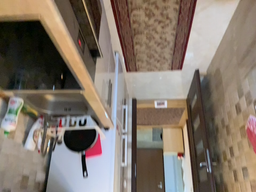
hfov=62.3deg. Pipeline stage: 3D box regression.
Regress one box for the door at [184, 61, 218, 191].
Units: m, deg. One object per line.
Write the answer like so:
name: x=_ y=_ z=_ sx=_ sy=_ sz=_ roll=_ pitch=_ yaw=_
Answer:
door: x=0.890 y=0.700 z=2.630 sx=0.120 sy=2.170 sz=0.780 roll=-2 pitch=156 yaw=8

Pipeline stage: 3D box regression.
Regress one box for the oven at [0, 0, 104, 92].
oven: x=-0.490 y=-0.560 z=1.160 sx=0.590 sy=0.900 sz=0.590 roll=-1 pitch=156 yaw=4

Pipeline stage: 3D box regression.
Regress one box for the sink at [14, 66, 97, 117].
sink: x=-0.460 y=-0.010 z=1.470 sx=0.390 sy=0.180 sz=0.440 roll=-1 pitch=156 yaw=4
